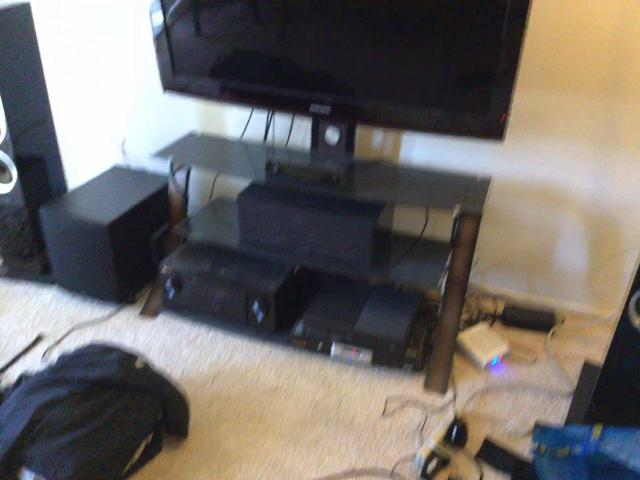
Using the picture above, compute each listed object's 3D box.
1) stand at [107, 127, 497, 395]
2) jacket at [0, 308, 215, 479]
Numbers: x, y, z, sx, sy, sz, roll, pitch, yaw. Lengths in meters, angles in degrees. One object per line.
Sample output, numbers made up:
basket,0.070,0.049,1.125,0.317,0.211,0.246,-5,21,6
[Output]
stand,-0.050,0.010,2.030,1.180,0.620,0.500,8,27,20
jacket,-0.600,0.450,1.540,0.390,0.250,0.470,18,31,35
